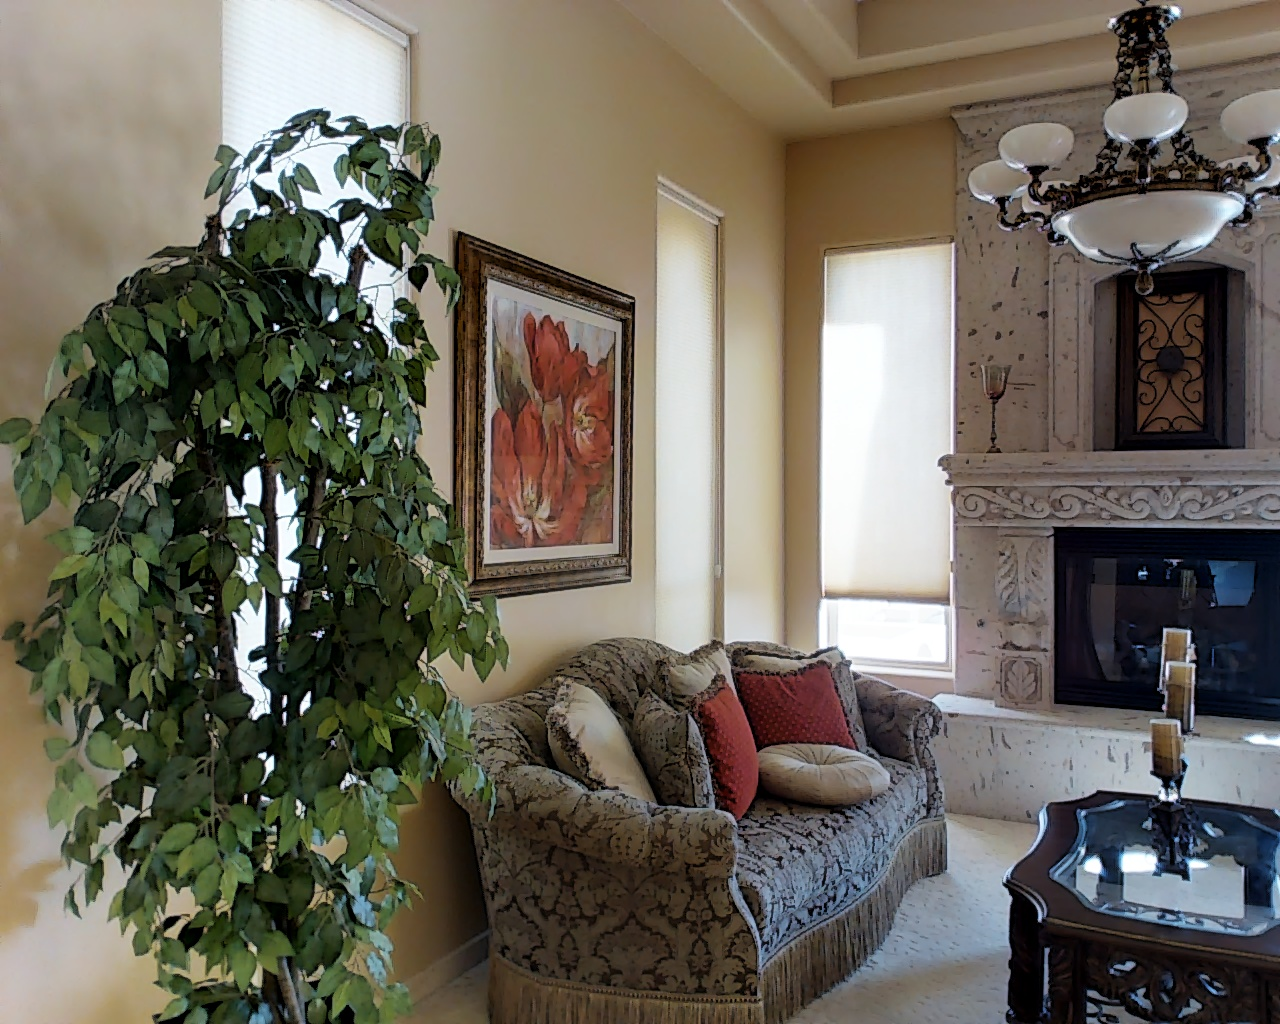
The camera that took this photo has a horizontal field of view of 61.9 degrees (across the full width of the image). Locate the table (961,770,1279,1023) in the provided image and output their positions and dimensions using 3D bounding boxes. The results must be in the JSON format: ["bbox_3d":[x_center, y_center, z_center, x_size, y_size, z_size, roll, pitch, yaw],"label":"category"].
[{"bbox_3d":[1.630,1.250,3.150,1.020,0.520,1.480,1,1,29],"label":"table"}]

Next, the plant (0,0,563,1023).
[{"bbox_3d":[-0.760,0.320,2.180,0.960,2.370,1.050,1,1,-17],"label":"plant"}]

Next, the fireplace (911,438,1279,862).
[{"bbox_3d":[2.560,0.590,5.130,2.300,1.840,0.690,1,1,28],"label":"fireplace"}]
